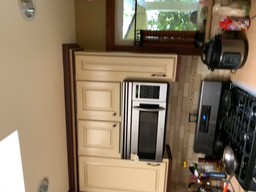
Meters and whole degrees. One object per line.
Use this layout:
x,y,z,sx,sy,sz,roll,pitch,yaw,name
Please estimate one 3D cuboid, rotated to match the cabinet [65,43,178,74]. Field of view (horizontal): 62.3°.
-0.050,-0.360,1.970,0.350,0.950,0.210,-69,-18,-75,cabinet
